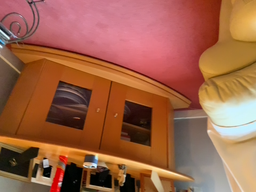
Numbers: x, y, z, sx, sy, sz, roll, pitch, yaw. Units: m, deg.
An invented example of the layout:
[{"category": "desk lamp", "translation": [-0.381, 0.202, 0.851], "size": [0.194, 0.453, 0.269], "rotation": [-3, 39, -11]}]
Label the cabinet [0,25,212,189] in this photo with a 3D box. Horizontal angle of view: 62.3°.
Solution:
[{"category": "cabinet", "translation": [-0.230, 0.200, 1.610], "size": [1.460, 0.660, 0.680], "rotation": [17, 146, -17]}]
